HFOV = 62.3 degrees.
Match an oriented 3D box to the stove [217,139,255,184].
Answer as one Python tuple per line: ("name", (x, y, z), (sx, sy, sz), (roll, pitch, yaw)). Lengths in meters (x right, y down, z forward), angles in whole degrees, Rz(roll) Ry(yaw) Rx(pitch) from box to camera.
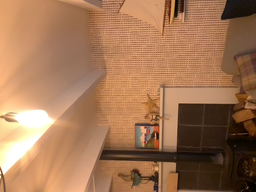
("stove", (1.440, 0.800, 2.620), (0.300, 0.510, 0.430), (-75, -15, -72))
